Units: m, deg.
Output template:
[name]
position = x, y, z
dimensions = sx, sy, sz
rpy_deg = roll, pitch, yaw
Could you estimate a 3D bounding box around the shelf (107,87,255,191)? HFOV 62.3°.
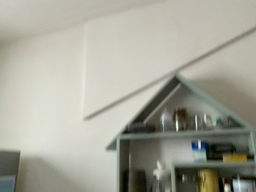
[shelf]
position = 0.330, 0.470, 0.930
dimensions = 0.810, 0.940, 0.240
rpy_deg = -5, -17, 16
